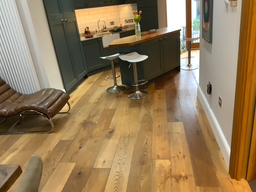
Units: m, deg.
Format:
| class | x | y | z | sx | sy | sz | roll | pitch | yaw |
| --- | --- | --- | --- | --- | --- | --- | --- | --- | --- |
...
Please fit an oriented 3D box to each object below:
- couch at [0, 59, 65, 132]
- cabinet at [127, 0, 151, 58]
| class | x | y | z | sx | sy | sz | roll | pitch | yaw |
| --- | --- | --- | --- | --- | --- | --- | --- | --- | --- |
| couch | -1.590 | -0.010 | 2.950 | 1.060 | 0.800 | 0.620 | -2 | 23 | 10 |
| cabinet | 0.300 | -2.250 | 5.860 | 0.530 | 2.270 | 0.440 | -3 | 23 | 8 |
